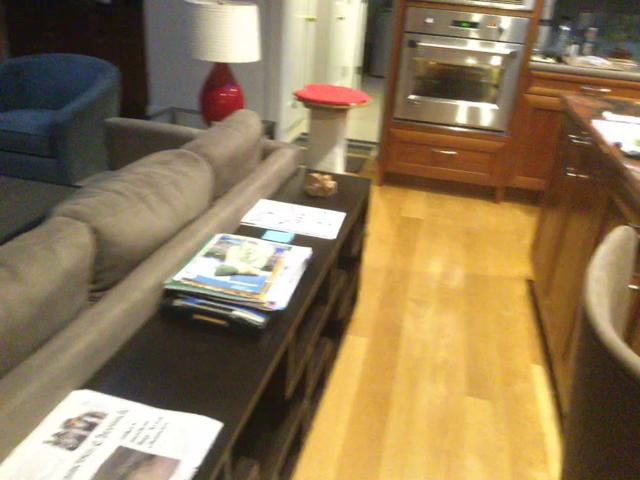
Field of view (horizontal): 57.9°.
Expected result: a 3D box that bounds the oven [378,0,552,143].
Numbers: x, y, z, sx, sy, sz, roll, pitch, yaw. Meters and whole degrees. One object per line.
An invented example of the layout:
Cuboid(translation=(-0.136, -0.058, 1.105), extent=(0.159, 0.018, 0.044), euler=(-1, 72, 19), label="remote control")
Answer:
Cuboid(translation=(0.810, -1.020, 3.370), extent=(0.840, 0.760, 0.280), euler=(9, 27, 12), label="oven")
